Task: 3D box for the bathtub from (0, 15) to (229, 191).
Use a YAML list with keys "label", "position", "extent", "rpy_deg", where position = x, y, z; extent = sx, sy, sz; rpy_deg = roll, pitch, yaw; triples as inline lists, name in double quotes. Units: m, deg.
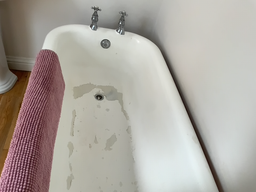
- label: "bathtub"
  position: [-0.110, 0.310, 1.090]
  extent: [0.770, 0.600, 1.670]
  rpy_deg: [5, 44, -14]
